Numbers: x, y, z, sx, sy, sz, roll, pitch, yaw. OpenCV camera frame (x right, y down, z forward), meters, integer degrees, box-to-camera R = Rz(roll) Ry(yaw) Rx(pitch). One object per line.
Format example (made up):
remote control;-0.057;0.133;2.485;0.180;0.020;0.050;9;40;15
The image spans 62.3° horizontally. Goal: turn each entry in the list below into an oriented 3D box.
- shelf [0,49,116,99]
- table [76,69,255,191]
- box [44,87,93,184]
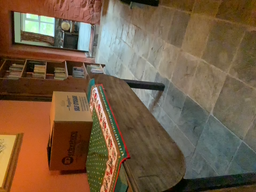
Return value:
shelf;-1.240;-0.380;3.700;0.960;1.860;0.360;-122;40;-56
table;0.130;0.410;1.480;1.290;0.780;0.720;-124;42;-57
box;-0.480;0.280;1.630;0.460;0.270;0.550;-125;43;-58
